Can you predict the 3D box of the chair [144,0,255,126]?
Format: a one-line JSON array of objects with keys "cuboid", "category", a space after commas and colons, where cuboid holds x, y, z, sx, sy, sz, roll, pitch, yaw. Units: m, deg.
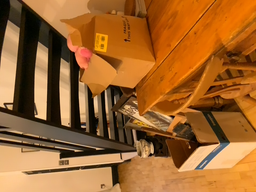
[{"cuboid": [0.620, -0.160, 1.250, 0.450, 0.870, 0.480, 117, 147, -53], "category": "chair"}]
